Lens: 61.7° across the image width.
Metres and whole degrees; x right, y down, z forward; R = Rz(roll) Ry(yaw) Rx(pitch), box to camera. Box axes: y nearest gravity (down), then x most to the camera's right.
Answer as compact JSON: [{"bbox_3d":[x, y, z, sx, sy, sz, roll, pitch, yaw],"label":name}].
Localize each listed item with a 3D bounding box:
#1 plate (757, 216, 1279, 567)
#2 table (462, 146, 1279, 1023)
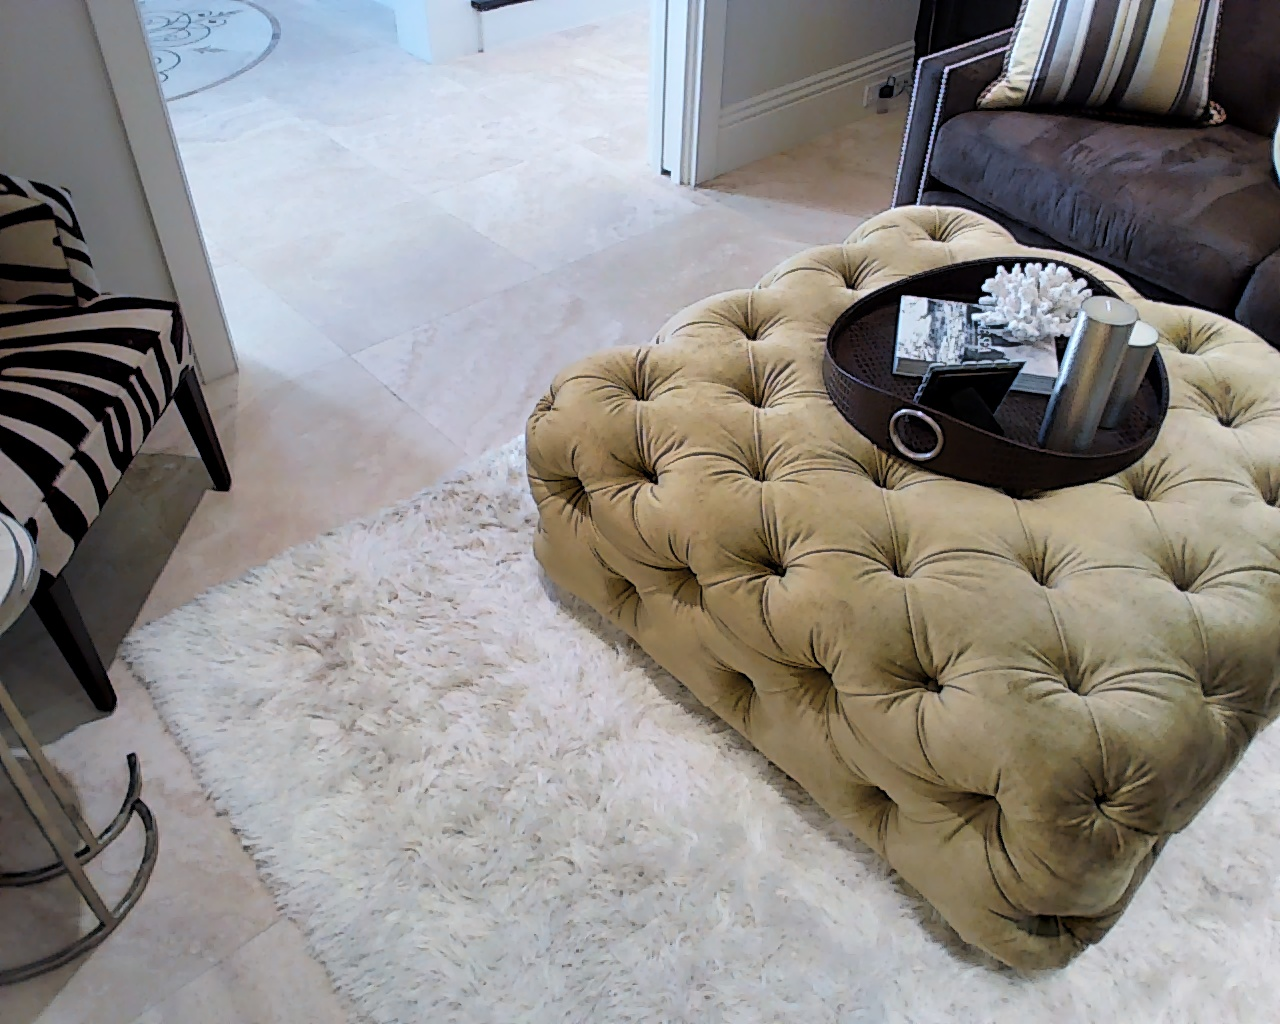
[{"bbox_3d":[0.610,-0.240,1.730,0.600,0.100,0.580,-31,51,-30],"label":"plate"},{"bbox_3d":[0.610,-0.010,1.870,1.280,0.530,1.270,-30,50,-30],"label":"table"}]
